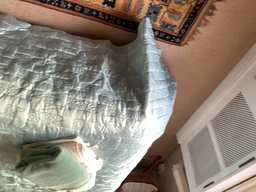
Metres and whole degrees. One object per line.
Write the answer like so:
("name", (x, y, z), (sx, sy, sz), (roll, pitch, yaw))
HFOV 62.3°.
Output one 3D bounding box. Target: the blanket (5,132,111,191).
("blanket", (-0.360, 0.430, 1.140), (0.420, 0.160, 0.580), (9, 139, -13))
